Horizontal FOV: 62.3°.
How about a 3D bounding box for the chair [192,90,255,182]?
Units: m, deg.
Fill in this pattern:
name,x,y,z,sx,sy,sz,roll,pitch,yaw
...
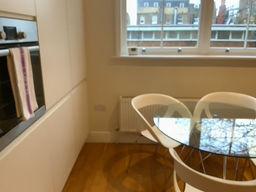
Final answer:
name,x,y,z,sx,sy,sz,roll,pitch,yaw
chair,1.110,0.390,2.350,0.550,0.770,0.470,-13,21,-39
